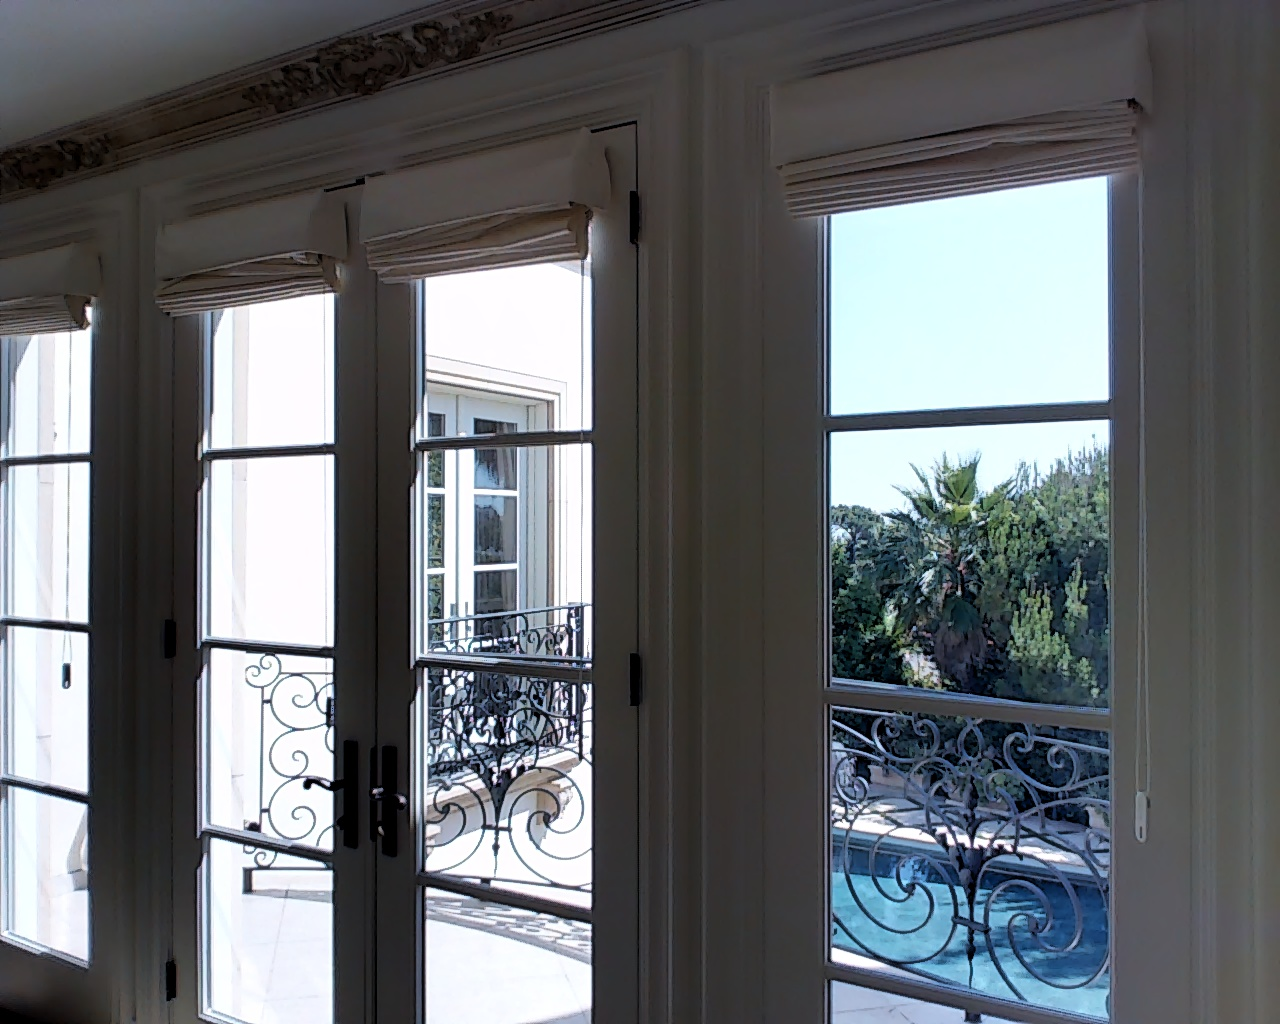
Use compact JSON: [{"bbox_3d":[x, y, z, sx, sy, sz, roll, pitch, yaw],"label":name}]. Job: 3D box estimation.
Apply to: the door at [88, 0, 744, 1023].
[{"bbox_3d":[-0.660,0.310,2.580,1.900,2.551,0.200,0,-1,31],"label":"door"}]
